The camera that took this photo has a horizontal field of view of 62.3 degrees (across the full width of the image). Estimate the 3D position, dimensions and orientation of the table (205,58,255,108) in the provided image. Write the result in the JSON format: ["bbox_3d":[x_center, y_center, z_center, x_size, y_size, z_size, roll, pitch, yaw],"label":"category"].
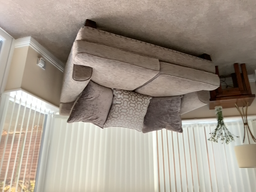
[{"bbox_3d":[1.390,-0.150,2.930,0.550,0.480,0.470,-7,158,18],"label":"table"}]
